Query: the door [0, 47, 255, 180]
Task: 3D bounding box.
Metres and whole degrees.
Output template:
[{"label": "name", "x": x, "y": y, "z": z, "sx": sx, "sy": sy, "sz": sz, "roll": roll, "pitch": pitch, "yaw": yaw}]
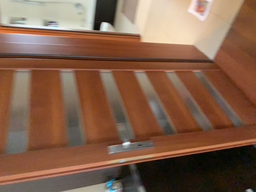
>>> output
[{"label": "door", "x": -0.070, "y": -0.020, "z": 1.400, "sx": 0.970, "sy": 2.080, "sz": 0.090, "roll": -115, "pitch": 31, "yaw": -46}]
